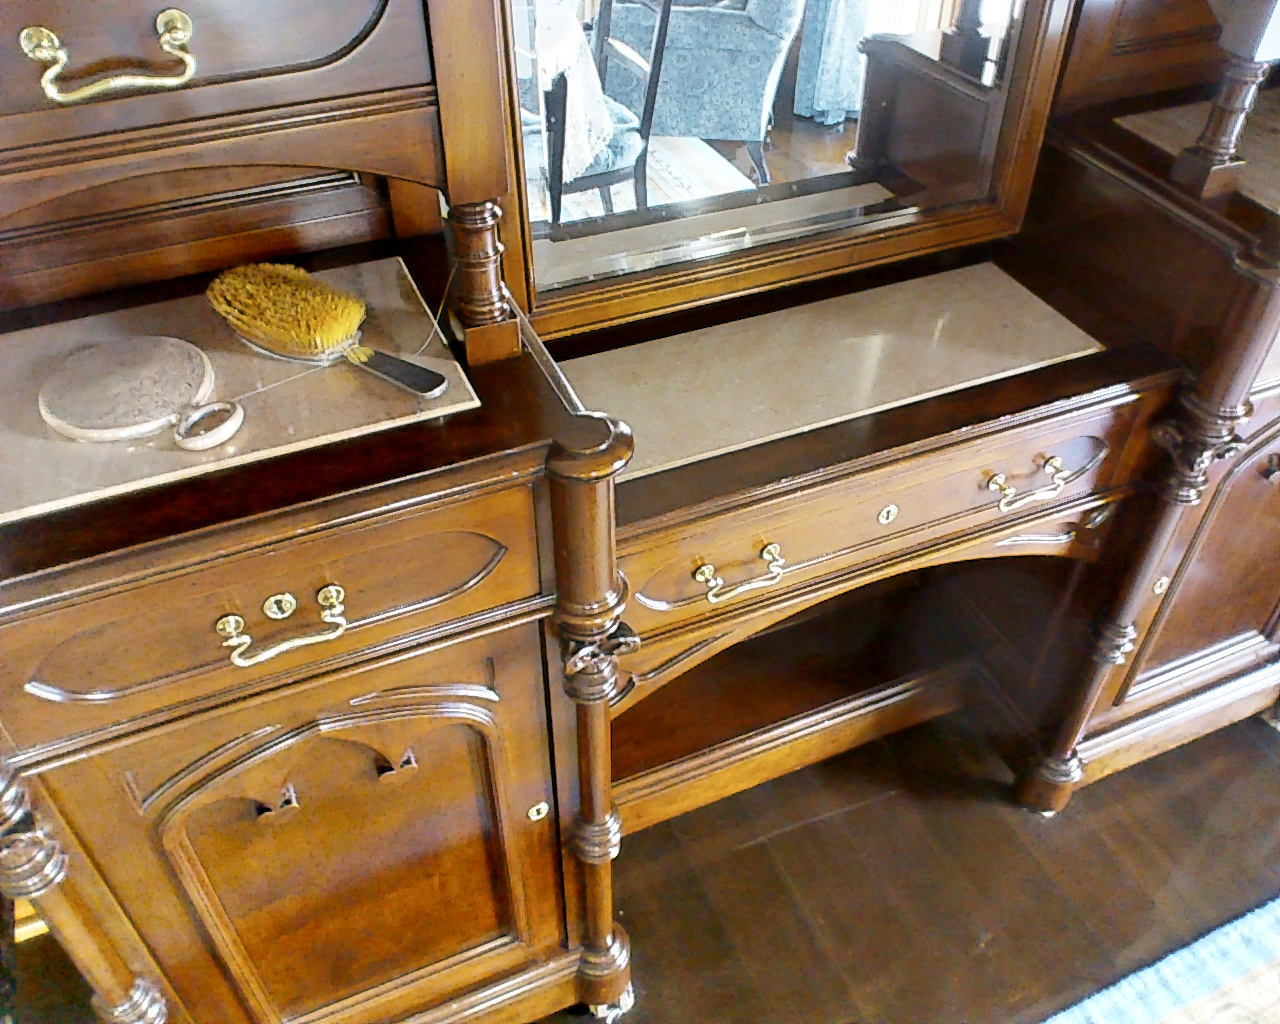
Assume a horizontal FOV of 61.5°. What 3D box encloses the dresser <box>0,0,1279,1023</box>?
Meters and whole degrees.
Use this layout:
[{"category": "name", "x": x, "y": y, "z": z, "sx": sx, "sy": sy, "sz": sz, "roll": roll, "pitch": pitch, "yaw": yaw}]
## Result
[{"category": "dresser", "x": 0.230, "y": -0.340, "z": 1.110, "sx": 1.880, "sy": 2.150, "sz": 0.590, "roll": -15, "pitch": 45, "yaw": -16}]
